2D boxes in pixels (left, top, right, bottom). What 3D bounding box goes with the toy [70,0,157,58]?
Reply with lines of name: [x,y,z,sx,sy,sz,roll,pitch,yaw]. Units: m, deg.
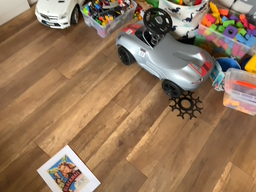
toy: [-0.110,-0.650,1.720,0.420,0.280,0.500,41,66,18]

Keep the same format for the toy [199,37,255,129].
toy: [0.810,-0.100,1.440,0.450,0.250,0.380,-39,70,-23]

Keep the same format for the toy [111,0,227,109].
toy: [0.250,-0.310,1.510,0.660,0.310,0.390,41,65,18]

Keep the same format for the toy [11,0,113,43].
toy: [-0.540,-0.850,1.780,0.440,0.310,0.710,42,66,18]
